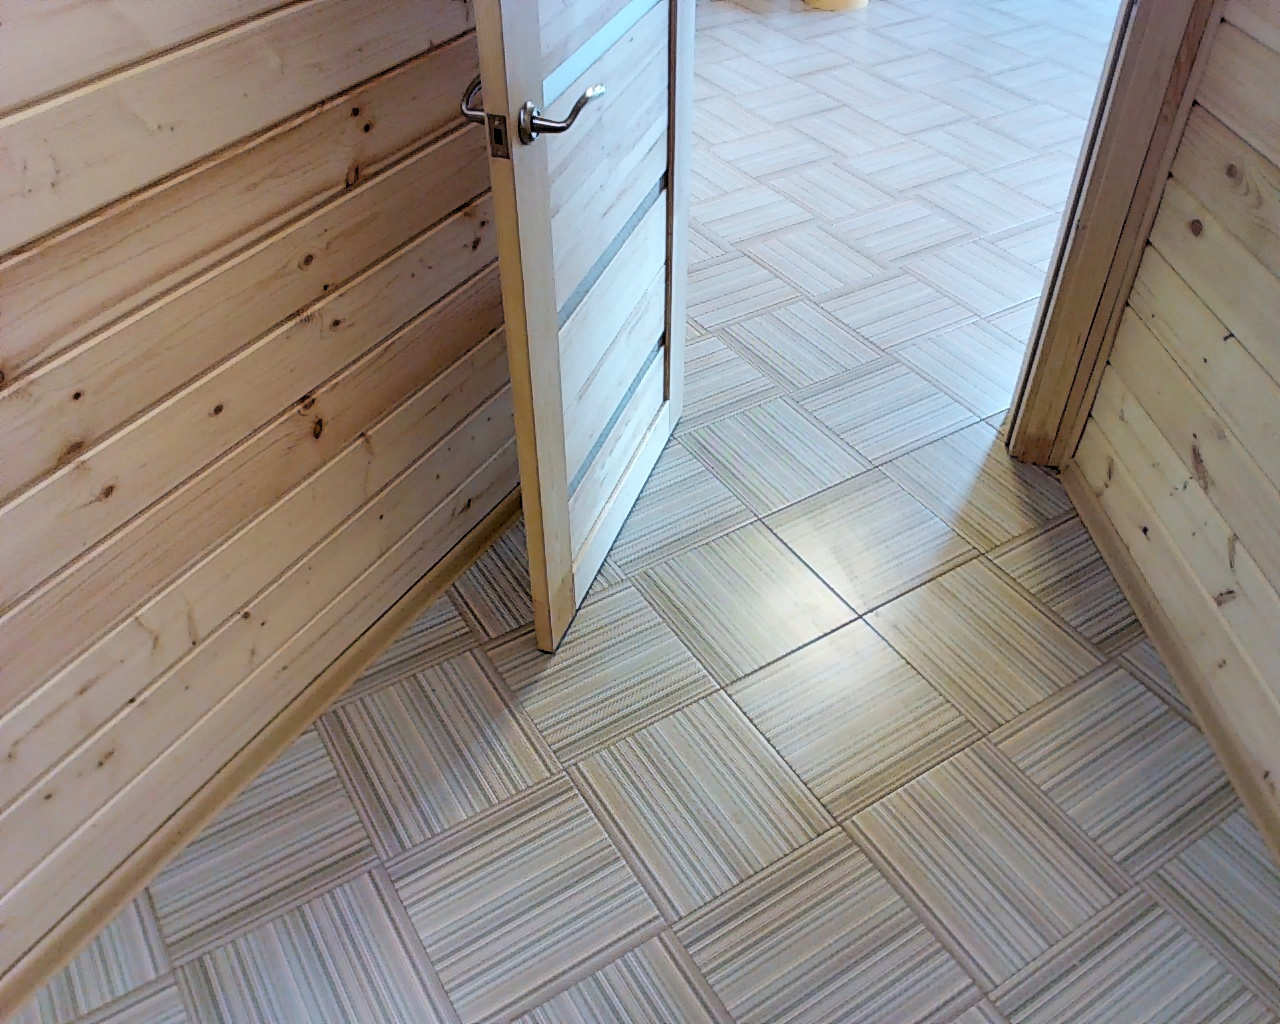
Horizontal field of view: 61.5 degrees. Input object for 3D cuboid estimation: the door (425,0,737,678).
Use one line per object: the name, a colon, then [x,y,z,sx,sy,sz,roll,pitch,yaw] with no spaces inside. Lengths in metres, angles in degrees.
door: [-0.040,-0.720,1.640,0.100,2.070,0.820,17,45,18]
